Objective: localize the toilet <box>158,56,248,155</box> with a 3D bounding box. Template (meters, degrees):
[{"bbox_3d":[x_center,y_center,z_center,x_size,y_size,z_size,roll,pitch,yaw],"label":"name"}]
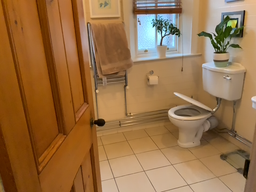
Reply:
[{"bbox_3d":[0.780,0.070,2.370,0.730,0.890,0.510,-8,20,-15],"label":"toilet"}]

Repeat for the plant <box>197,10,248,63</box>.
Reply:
[{"bbox_3d":[0.980,-0.640,2.260,0.220,0.480,0.440,-8,20,-15],"label":"plant"}]
